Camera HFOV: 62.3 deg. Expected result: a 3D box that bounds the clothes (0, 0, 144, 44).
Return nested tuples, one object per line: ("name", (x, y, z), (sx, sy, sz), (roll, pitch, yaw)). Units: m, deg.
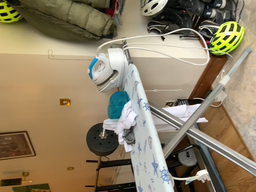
("clothes", (-0.500, -0.790, 1.360), (0.630, 1.080, 0.820), (-141, 51, -72))
